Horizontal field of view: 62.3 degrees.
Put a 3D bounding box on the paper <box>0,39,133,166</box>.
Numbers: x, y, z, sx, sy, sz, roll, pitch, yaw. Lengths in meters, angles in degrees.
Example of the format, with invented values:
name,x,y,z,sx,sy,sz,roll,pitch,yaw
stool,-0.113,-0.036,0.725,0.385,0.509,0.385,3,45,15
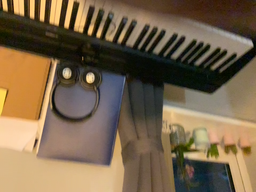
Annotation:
name,x,y,z,sx,sy,sz,roll,pitch,yaw
paper,-0.250,0.020,0.700,0.470,0.300,0.180,13,128,-18
